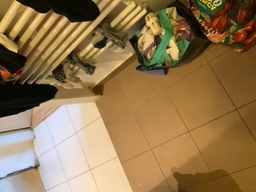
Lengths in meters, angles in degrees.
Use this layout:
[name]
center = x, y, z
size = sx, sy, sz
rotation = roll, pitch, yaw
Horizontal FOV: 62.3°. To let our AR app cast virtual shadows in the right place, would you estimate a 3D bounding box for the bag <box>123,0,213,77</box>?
[bag]
center = 0.230, -0.270, 1.140
size = 0.290, 0.400, 0.210
rotation = -29, 77, 31
